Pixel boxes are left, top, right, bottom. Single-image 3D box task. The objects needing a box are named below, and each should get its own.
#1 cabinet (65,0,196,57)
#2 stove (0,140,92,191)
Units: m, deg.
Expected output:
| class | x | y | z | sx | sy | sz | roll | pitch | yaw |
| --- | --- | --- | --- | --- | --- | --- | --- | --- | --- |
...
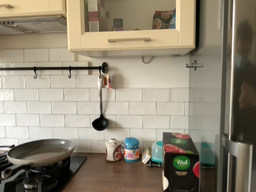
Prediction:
| class | x | y | z | sx | sy | sz | roll | pitch | yaw |
| --- | --- | --- | --- | --- | --- | --- | --- | --- | --- |
| cabinet | 0.020 | -0.660 | 0.920 | 0.480 | 0.930 | 0.360 | 1 | 6 | 6 |
| stove | -0.530 | 0.320 | 0.960 | 0.590 | 0.050 | 0.560 | 1 | 6 | 6 |
